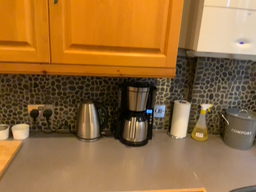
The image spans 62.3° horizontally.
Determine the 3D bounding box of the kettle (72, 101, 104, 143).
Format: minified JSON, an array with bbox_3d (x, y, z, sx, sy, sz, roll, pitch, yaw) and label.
[{"bbox_3d":[-0.240,0.150,1.270,0.170,0.210,0.140,0,16,-11],"label":"kettle"}]
